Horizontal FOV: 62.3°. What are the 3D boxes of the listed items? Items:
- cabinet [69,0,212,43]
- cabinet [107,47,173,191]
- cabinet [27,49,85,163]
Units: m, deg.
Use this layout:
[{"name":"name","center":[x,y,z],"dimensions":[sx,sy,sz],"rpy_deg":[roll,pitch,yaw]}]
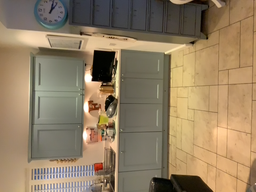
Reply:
[{"name":"cabinet","center":[0.160,-0.920,2.440],"dimensions":[0.360,1.610,0.390],"rpy_deg":[-176,87,-74]},{"name":"cabinet","center":[0.160,0.720,3.580],"dimensions":[0.610,0.870,2.890],"rpy_deg":[-171,83,-74]},{"name":"cabinet","center":[-1.110,0.160,3.320],"dimensions":[0.340,0.780,1.640],"rpy_deg":[-171,83,-74]}]
